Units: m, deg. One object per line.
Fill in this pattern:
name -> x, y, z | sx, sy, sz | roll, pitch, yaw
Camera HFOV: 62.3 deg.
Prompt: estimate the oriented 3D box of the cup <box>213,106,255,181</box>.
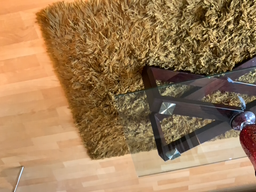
cup -> 0.470, 0.180, 0.830 | 0.170, 0.210, 0.170 | -8, 126, 1
